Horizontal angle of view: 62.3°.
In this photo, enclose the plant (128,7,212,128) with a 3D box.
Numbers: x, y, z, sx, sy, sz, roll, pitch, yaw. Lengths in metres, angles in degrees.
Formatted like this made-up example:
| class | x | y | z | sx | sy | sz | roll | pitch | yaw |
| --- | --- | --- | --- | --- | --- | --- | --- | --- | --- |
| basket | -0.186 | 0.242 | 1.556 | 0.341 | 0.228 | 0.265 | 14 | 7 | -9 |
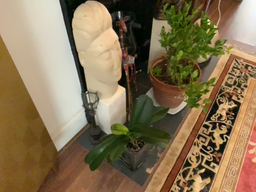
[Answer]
| class | x | y | z | sx | sy | sz | roll | pitch | yaw |
| --- | --- | --- | --- | --- | --- | --- | --- | --- | --- |
| plant | 0.200 | -0.140 | 1.170 | 0.270 | 0.520 | 0.310 | 27 | 53 | 20 |
